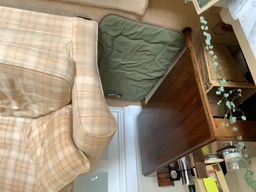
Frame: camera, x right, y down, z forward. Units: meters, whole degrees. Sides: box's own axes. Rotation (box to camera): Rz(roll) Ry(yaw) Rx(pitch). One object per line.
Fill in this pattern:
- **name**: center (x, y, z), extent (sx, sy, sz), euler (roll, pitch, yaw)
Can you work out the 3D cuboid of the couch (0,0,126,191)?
- **couch**: center (-0.800, 0.160, 1.220), extent (1.280, 0.970, 1.050), euler (6, 151, -17)
